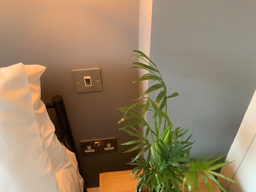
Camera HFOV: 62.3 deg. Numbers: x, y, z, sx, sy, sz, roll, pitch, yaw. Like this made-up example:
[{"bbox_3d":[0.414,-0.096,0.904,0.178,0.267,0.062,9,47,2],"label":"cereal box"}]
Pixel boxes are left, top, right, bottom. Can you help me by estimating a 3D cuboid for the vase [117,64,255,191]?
[{"bbox_3d":[0.110,0.140,0.500,0.250,0.360,0.210,-3,39,-3],"label":"vase"}]
